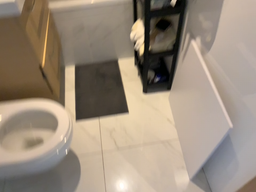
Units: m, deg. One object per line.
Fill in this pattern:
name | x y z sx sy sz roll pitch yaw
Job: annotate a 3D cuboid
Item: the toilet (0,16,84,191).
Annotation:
toilet | -0.560 0.120 1.050 0.520 0.840 0.390 -7 52 -5
